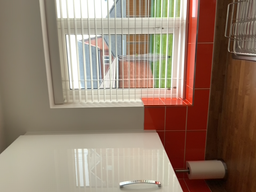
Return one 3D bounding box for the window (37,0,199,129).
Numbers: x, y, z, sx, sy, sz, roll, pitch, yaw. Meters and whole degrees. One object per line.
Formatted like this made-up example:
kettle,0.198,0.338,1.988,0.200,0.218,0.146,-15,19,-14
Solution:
window,-0.060,-0.460,1.520,0.140,1.080,1.390,-101,10,-77
